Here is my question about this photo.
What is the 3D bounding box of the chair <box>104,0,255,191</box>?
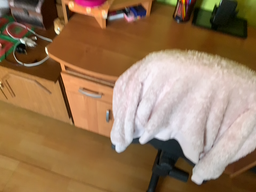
[{"bbox_3d":[0.190,0.000,0.920,0.420,0.800,0.540,17,54,5],"label":"chair"}]
